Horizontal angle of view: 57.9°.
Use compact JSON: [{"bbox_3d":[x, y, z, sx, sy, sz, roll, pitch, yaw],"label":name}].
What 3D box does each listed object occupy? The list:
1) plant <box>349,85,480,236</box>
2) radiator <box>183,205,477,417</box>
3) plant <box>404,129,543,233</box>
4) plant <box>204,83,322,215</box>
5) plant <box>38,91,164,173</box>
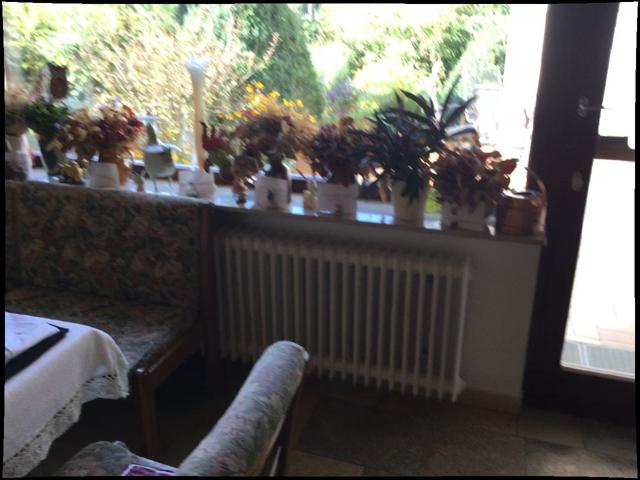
[{"bbox_3d":[0.330,-0.290,2.030,0.400,0.450,0.260,6,24,16],"label":"plant"},{"bbox_3d":[0.030,0.270,2.390,1.129,0.701,0.230,6,24,16],"label":"radiator"},{"bbox_3d":[0.539,-0.220,2.050,0.430,0.270,0.270,6,24,16],"label":"plant"},{"bbox_3d":[-0.200,-0.360,2.210,0.340,0.420,0.300,6,24,16],"label":"plant"},{"bbox_3d":[-0.899,-0.460,2.410,0.340,0.260,0.310,6,24,16],"label":"plant"}]
